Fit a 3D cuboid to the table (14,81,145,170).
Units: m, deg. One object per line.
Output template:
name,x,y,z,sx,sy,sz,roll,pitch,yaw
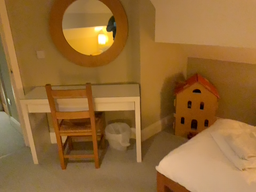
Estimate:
table,-0.460,0.310,2.400,1.240,0.800,0.490,-3,21,-2
